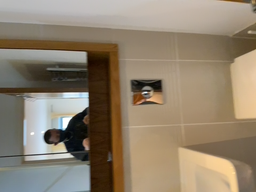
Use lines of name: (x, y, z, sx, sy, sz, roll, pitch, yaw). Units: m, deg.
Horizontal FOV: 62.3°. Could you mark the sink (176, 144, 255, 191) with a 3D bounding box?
sink: (0.450, 0.590, 1.020, 0.470, 0.200, 0.650, 152, 116, -75)
